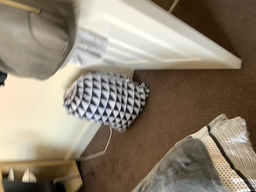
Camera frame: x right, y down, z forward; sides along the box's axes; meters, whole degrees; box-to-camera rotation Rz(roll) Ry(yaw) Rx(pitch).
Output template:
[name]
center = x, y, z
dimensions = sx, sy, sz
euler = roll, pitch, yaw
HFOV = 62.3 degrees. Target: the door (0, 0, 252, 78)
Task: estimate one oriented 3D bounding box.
[door]
center = -0.390, -0.350, 0.740
dimensions = 0.810, 2.080, 0.150
euler = 15, 95, 48
